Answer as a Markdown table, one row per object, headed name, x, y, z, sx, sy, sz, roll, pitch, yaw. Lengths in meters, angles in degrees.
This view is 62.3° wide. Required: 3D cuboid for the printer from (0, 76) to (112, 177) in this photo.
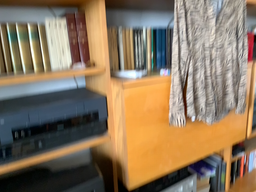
| name | x | y | z | sx | sy | sz | roll | pitch | yaw |
| --- | --- | --- | --- | --- | --- | --- | --- | --- | --- |
| printer | -0.360 | 0.080 | 0.930 | 0.450 | 0.260 | 0.350 | -11 | 16 | -33 |
